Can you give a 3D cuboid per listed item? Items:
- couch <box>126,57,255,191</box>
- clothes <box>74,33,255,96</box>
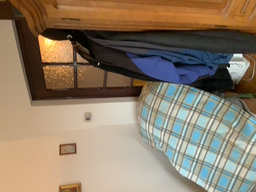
[{"bbox_3d":[0.650,0.310,1.990,1.040,1.020,0.960,-112,24,-50],"label":"couch"},{"bbox_3d":[0.270,-0.260,1.440,0.730,1.210,0.270,-133,43,-67],"label":"clothes"}]
